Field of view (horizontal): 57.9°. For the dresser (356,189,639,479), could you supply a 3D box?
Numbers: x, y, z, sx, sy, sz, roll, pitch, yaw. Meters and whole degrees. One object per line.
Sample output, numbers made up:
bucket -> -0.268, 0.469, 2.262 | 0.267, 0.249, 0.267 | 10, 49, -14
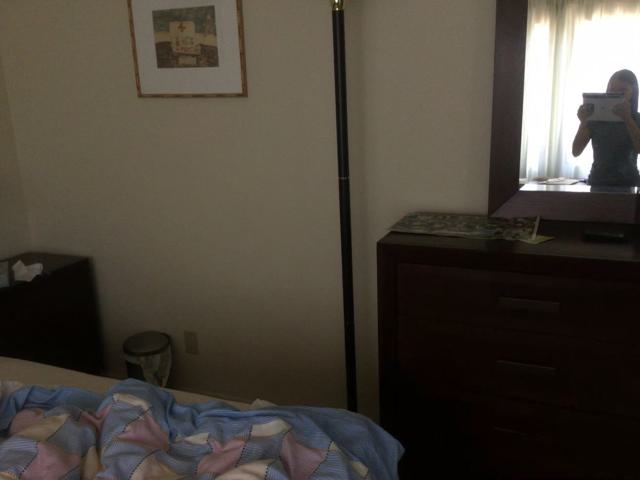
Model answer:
dresser -> 0.940, 0.410, 1.620 | 1.570, 1.020, 0.480 | 3, 15, 23

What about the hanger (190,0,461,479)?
hanger -> 0.080, -0.090, 1.970 | 0.680, 1.880, 0.580 | 3, 15, 23

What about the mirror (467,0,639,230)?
mirror -> 0.980, -0.480, 1.560 | 1.100, 0.890, 0.210 | 3, 15, 23
